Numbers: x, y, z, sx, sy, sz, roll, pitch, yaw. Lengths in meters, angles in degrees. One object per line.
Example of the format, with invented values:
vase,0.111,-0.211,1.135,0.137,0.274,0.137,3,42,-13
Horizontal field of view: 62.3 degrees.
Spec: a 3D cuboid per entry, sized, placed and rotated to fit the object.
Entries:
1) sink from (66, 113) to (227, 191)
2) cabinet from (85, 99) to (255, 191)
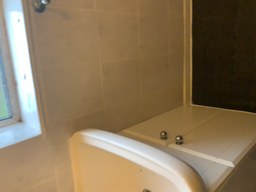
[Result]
sink,0.020,0.330,0.720,0.530,0.150,0.430,10,108,43
cabinet,0.310,0.300,1.030,0.530,0.840,0.330,10,108,43
